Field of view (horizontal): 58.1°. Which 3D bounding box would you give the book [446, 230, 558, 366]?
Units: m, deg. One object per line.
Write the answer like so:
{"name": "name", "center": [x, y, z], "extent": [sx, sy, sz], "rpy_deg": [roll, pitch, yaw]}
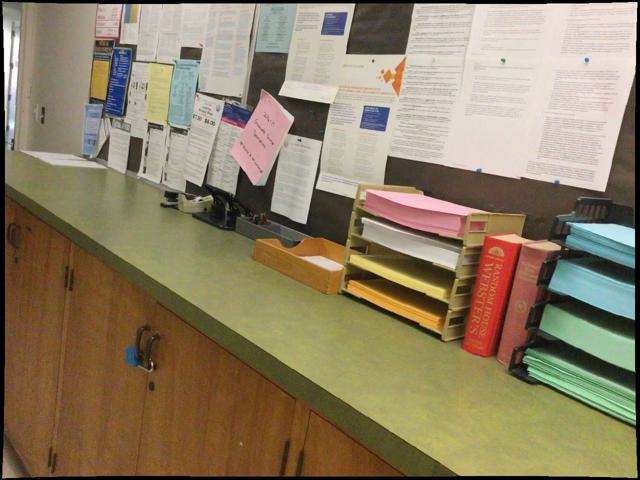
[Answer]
{"name": "book", "center": [0.409, 0.120, 1.290], "extent": [0.220, 0.261, 0.100], "rpy_deg": [-4, 17, -44]}

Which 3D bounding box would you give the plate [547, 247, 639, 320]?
{"name": "plate", "center": [0.628, 0.090, 1.080], "extent": [0.260, 0.070, 0.290], "rpy_deg": [-4, 17, -44]}

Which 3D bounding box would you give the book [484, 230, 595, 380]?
{"name": "book", "center": [0.469, 0.130, 1.230], "extent": [0.180, 0.281, 0.100], "rpy_deg": [-4, 17, -44]}

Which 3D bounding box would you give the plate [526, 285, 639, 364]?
{"name": "plate", "center": [0.608, 0.170, 1.110], "extent": [0.250, 0.050, 0.320], "rpy_deg": [-4, 17, -44]}
